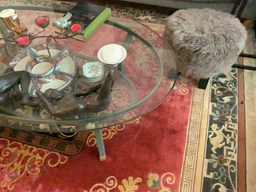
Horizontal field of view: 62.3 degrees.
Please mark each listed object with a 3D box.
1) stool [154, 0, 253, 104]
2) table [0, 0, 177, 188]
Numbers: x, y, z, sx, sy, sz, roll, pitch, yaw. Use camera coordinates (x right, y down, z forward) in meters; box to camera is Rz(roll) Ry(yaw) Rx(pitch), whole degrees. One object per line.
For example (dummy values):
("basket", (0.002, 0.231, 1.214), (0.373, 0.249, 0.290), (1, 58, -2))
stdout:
("stool", (0.440, -0.280, 1.320), (0.450, 0.380, 0.430), (12, 55, 10))
("table", (-0.430, -0.100, 1.180), (1.220, 0.420, 0.750), (13, 55, 10))
